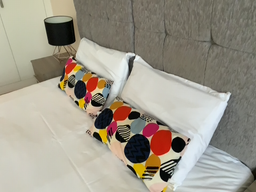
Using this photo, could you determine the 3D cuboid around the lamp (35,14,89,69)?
[{"bbox_3d":[-0.600,-0.510,1.960,0.340,0.390,0.260,-21,35,-29],"label":"lamp"}]
